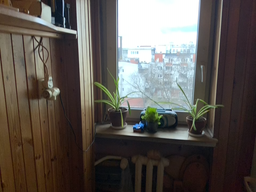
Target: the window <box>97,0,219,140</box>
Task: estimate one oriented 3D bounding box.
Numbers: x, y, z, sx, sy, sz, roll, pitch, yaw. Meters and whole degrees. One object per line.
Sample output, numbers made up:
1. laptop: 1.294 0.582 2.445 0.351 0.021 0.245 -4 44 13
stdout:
1. window: 0.200 -0.260 1.640 0.850 1.170 0.120 2 12 7
